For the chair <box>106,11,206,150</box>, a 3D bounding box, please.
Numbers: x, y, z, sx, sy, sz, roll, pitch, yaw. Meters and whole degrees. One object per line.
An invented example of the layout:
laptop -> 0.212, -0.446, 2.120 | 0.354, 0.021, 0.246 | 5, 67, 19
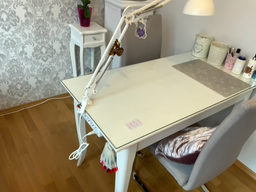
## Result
chair -> 0.160, -0.130, 1.800 | 0.470, 0.990, 0.500 | -15, 40, -29

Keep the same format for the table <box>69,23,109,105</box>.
table -> -0.400, -0.320, 2.170 | 0.290, 0.760, 0.250 | -17, 41, -31

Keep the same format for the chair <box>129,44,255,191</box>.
chair -> 0.390, 0.280, 1.240 | 0.490, 0.990, 0.500 | -11, 38, -24
